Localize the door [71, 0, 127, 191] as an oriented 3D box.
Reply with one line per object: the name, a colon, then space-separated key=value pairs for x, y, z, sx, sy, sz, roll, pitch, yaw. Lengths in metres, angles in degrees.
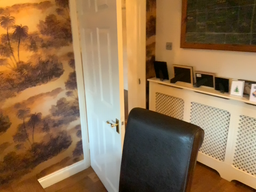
door: x=-0.270 y=0.010 z=1.920 sx=0.080 sy=2.030 sz=0.880 roll=-11 pitch=20 yaw=-29
